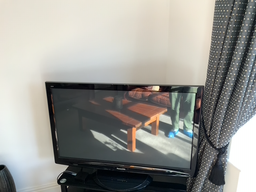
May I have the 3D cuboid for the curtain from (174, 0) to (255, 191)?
[{"bbox_3d":[0.560,0.050,1.470,0.220,2.300,0.410,-6,17,-17],"label":"curtain"}]

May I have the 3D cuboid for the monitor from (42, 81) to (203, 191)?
[{"bbox_3d":[-0.070,0.320,1.740,1.230,0.850,0.090,2,17,11],"label":"monitor"}]
